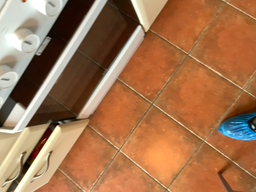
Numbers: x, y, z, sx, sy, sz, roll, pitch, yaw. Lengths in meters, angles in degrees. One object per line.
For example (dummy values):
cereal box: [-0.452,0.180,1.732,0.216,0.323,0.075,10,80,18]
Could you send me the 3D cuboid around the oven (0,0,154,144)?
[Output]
oven: [-0.330,-0.270,0.840,0.620,0.710,0.510,37,96,10]
